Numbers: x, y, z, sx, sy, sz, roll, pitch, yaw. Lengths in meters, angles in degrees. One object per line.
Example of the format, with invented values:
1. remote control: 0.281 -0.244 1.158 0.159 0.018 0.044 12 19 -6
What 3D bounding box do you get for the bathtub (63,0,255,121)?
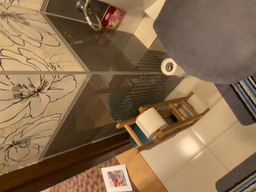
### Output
1. bathtub: 0.270 -0.350 0.890 0.670 0.790 0.410 48 121 23
